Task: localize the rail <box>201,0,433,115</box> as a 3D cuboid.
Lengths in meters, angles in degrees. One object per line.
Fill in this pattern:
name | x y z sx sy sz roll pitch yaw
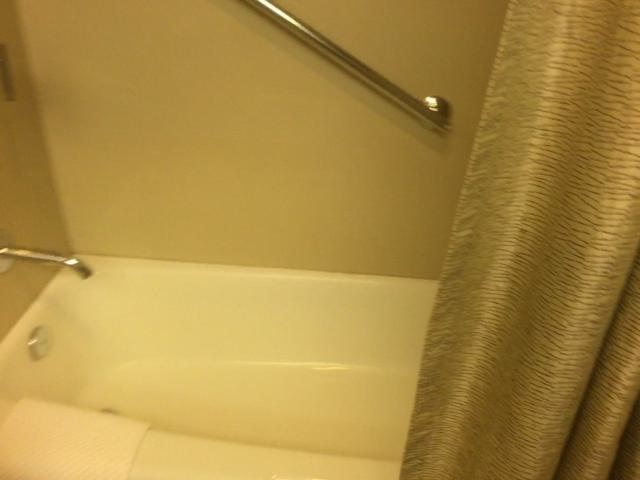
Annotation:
rail | -0.010 -0.460 1.320 0.500 0.310 0.070 3 30 1
